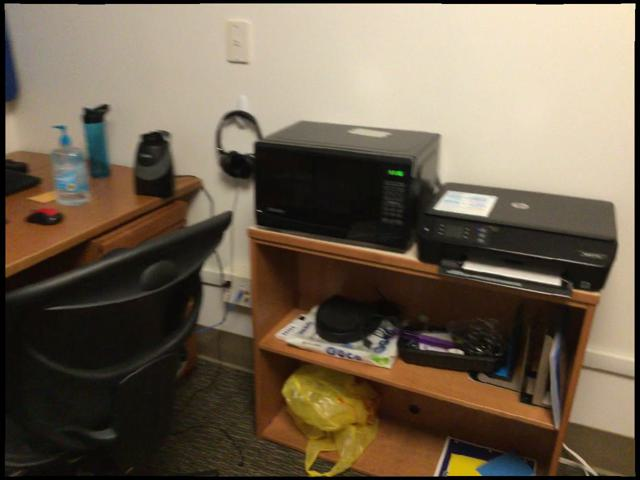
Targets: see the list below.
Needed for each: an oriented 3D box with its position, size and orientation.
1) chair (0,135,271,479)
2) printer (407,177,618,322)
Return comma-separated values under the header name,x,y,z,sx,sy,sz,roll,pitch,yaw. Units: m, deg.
name,x,y,z,sx,sy,sz,roll,pitch,yaw
chair,-0.659,0.361,1.350,0.889,1.012,0.620,11,25,22
printer,0.499,0.000,1.490,0.449,0.170,0.360,11,25,22
